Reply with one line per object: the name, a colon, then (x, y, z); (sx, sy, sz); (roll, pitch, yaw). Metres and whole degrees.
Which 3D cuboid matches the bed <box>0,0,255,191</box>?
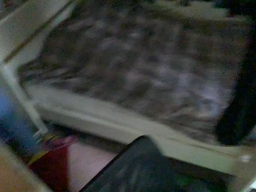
bed: (0.350, -0.420, 1.160); (2.100, 1.600, 1.070); (13, 51, 17)
